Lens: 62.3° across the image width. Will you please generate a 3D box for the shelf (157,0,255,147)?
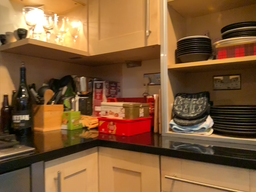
[{"bbox_3d":[0.450,-0.490,1.070,0.500,1.380,0.360,-1,0,33],"label":"shelf"}]
